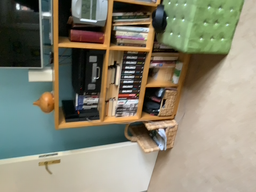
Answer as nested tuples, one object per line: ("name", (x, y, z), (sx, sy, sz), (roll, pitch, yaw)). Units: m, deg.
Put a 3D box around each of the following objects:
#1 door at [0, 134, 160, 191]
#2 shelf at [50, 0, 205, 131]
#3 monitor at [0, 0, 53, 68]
("door", (-0.670, 0.880, 2.090), (0.140, 2.020, 0.850), (-131, 44, -56))
("shelf", (-0.020, -0.540, 1.660), (0.380, 1.090, 1.550), (-132, 45, -57))
("monitor", (-0.740, -0.520, 1.360), (0.050, 0.480, 0.680), (-132, 45, -57))
